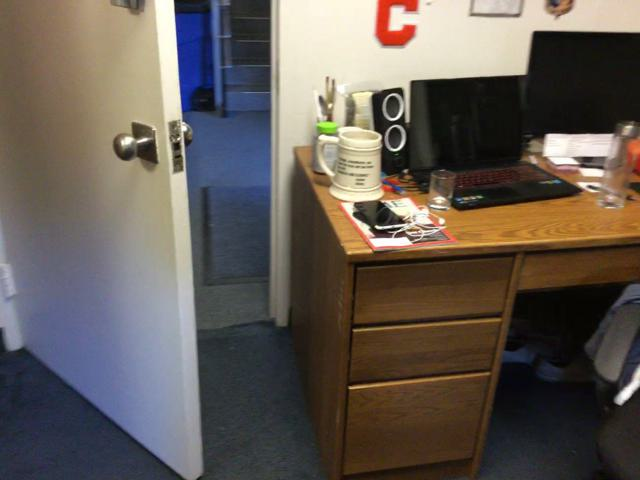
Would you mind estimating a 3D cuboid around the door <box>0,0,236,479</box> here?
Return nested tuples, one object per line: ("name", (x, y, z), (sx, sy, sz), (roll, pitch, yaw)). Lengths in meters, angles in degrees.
("door", (-0.600, -0.400, 1.340), (0.950, 2.120, 0.110), (21, 31, 35))

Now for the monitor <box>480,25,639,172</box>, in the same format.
("monitor", (0.830, -0.450, 1.790), (0.520, 0.380, 0.300), (-4, 26, -11))
